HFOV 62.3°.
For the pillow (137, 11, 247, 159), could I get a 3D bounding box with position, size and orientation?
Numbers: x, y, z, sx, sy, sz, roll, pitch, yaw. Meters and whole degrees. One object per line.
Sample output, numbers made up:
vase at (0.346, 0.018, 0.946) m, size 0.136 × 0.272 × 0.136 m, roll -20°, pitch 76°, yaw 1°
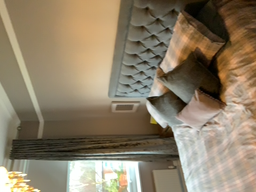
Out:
pillow at (0.460, 0.030, 2.190) m, size 1.480 × 0.350 × 0.780 m, roll 106°, pitch 161°, yaw -55°
